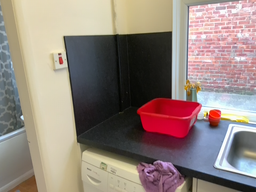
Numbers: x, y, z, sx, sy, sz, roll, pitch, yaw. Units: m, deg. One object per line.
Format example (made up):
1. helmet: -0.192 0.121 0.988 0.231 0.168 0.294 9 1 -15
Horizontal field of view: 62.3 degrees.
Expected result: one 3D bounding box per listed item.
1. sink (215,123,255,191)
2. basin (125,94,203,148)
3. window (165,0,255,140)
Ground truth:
1. sink: 0.720 0.360 1.040 0.470 0.210 0.490 7 18 29
2. basin: 0.240 0.130 1.340 0.360 0.160 0.380 7 19 31
3. window: 0.760 -0.480 1.320 1.000 1.470 0.300 7 19 31
